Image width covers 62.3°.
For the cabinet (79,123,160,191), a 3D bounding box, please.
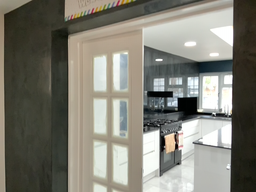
[{"bbox_3d":[-0.100,1.030,3.590,0.740,0.920,1.220,1,2,38],"label":"cabinet"}]
